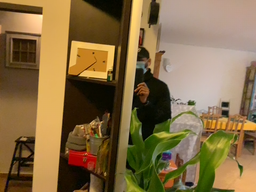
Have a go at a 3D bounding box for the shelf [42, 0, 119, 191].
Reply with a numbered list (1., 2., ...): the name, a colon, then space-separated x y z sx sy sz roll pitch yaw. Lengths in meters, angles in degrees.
1. shelf: -0.270 0.190 1.200 0.290 2.520 0.320 5 6 -6
